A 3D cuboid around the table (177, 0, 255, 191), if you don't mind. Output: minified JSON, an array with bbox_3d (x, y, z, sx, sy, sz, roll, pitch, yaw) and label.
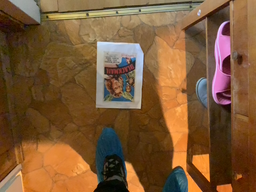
[{"bbox_3d":[0.470,0.030,0.740,0.410,0.540,0.700,-4,97,-5],"label":"table"}]
